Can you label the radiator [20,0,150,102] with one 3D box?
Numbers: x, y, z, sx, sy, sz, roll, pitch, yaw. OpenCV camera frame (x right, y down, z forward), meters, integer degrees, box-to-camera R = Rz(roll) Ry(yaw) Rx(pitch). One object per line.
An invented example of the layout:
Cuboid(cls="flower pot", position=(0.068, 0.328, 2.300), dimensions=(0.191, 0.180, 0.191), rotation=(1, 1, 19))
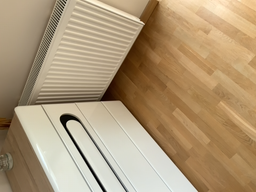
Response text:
Cuboid(cls="radiator", position=(-0.260, -0.260, 1.410), dimensions=(0.110, 0.670, 0.680), rotation=(48, 118, 27))
